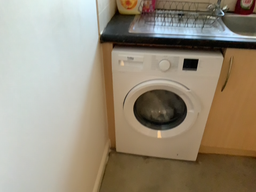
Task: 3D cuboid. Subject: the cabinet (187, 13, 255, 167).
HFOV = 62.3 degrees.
[{"bbox_3d":[0.760,-0.050,1.590,0.410,0.930,0.630,5,35,6],"label":"cabinet"}]
